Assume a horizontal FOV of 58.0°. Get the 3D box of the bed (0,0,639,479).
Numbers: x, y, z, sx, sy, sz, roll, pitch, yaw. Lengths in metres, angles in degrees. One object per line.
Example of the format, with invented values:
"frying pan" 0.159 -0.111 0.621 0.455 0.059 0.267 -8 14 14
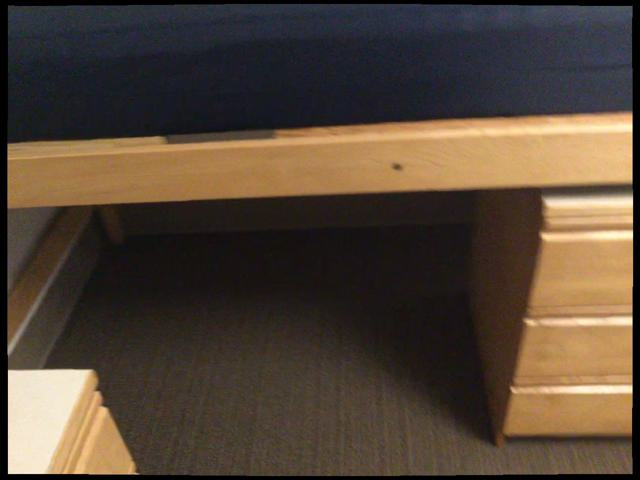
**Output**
"bed" 0.170 -0.160 1.520 2.256 1.101 1.101 -1 38 6
